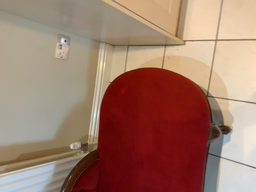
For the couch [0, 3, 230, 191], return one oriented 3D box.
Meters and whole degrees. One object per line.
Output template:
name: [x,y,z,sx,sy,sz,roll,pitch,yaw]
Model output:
couch: [-0.100,0.670,1.000,0.710,0.820,1.770,7,93,38]
